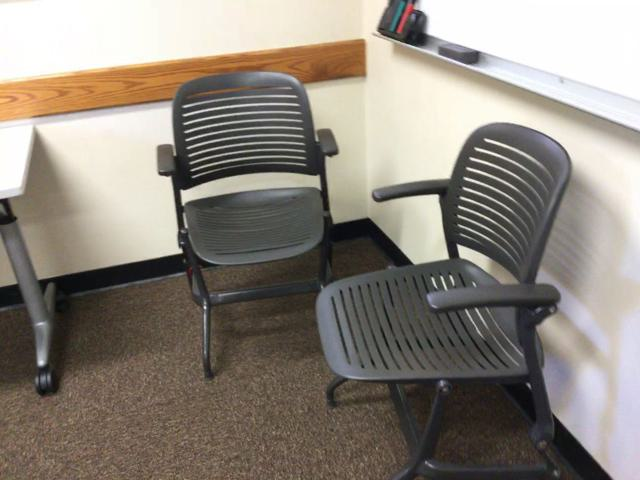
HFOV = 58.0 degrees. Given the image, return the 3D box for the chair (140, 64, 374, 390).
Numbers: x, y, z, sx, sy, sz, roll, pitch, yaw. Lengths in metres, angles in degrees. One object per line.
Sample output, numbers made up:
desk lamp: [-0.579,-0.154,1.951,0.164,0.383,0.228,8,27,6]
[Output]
chair: [-0.200,-0.080,1.960,0.610,0.870,0.600,-8,26,-10]

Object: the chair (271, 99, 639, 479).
chair: [0.300,0.160,1.400,0.630,0.820,0.570,-12,27,-18]
